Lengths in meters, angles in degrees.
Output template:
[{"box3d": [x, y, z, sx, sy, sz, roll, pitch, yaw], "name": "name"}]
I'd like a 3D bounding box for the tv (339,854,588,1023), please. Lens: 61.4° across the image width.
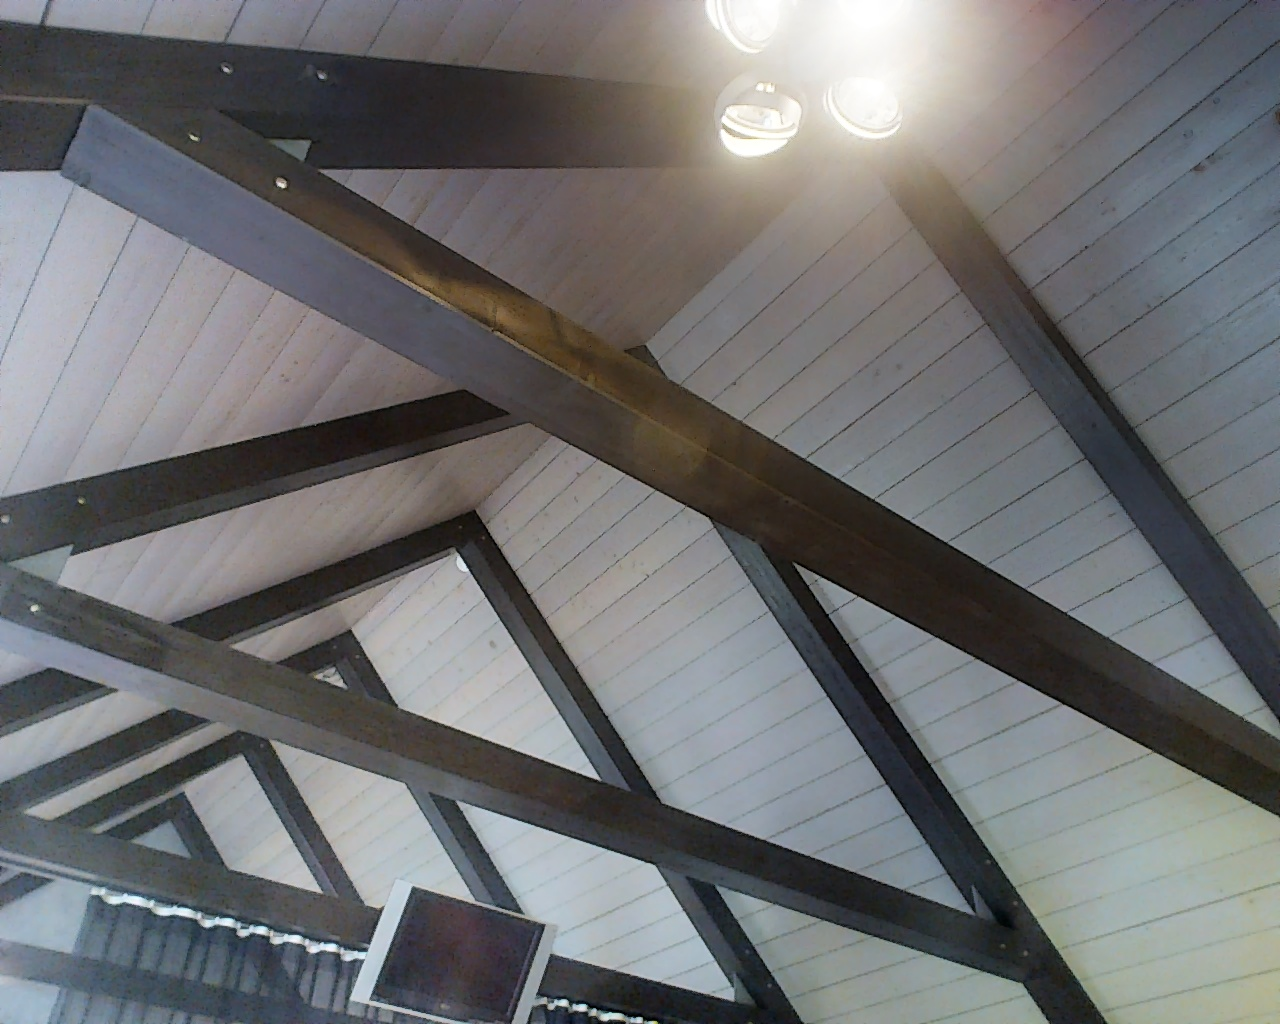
[{"box3d": [-0.690, 1.801, 4.370, 0.870, 0.500, 0.380, 27, -46, -27], "name": "tv"}]
